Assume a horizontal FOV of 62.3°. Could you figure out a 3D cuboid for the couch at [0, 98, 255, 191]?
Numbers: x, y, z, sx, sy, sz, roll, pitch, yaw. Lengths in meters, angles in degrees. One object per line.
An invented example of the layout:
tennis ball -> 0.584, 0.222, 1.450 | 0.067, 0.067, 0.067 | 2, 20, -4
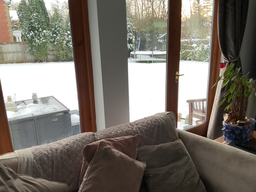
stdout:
couch -> -0.030, 0.690, 1.320 | 1.700, 0.840, 1.050 | -12, 19, -33
